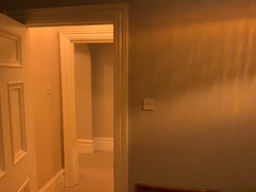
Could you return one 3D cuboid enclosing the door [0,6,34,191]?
[{"bbox_3d":[-0.840,0.450,1.470,0.040,2.060,0.790,0,7,-5],"label":"door"}]
